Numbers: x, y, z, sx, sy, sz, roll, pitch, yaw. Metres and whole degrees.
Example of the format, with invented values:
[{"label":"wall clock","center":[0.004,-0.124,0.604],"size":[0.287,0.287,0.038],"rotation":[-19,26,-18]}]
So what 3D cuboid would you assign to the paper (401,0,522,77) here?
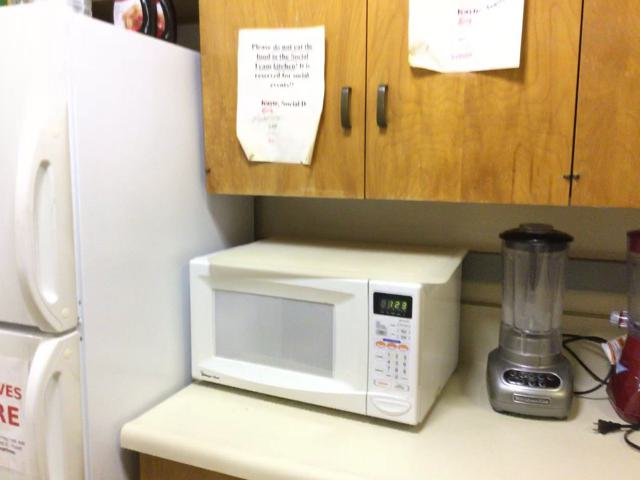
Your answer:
[{"label":"paper","center":[0.260,-0.450,1.060],"size":[0.210,0.280,0.040],"rotation":[4,9,21]}]
